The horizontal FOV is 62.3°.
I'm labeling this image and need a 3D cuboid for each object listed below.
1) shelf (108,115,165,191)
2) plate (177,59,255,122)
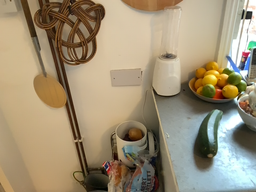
[{"bbox_3d":[0.040,0.500,1.160,0.220,0.680,0.390,-4,33,-1],"label":"shelf"},{"bbox_3d":[0.390,-0.040,0.880,0.290,0.090,0.320,-4,33,-1],"label":"plate"}]
